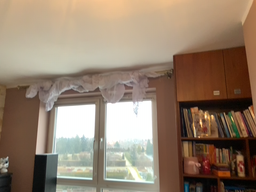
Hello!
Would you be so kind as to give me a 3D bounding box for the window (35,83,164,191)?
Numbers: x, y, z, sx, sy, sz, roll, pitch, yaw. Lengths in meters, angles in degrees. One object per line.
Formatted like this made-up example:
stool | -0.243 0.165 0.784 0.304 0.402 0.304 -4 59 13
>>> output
window | -0.430 0.850 2.980 1.810 1.920 0.230 -3 -11 16
